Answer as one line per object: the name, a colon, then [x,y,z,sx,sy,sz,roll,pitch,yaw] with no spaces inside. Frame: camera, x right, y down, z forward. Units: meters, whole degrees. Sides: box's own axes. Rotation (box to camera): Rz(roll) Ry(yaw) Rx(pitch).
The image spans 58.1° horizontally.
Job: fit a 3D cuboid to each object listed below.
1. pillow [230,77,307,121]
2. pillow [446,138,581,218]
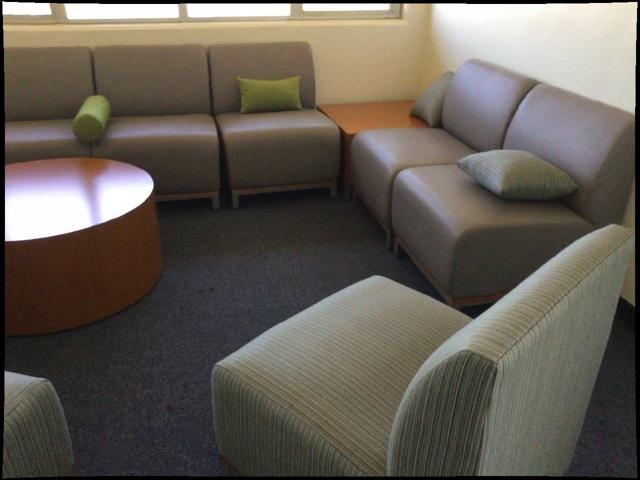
pillow: [-0.319,-0.872,3.550,0.439,0.210,0.170,-7,29,-17]
pillow: [0.788,-0.271,2.400,0.349,0.170,0.390,-7,29,-17]
